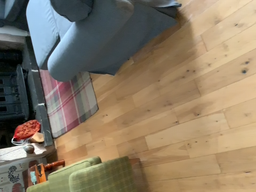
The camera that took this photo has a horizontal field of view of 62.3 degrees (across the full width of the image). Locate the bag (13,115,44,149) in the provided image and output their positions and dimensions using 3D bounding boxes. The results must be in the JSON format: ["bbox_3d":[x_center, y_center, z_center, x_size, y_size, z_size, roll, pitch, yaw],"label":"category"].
[{"bbox_3d":[-1.420,0.510,3.000,0.390,0.250,0.350,-30,72,44],"label":"bag"}]
